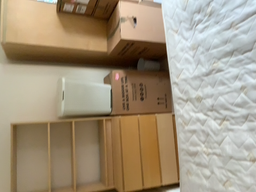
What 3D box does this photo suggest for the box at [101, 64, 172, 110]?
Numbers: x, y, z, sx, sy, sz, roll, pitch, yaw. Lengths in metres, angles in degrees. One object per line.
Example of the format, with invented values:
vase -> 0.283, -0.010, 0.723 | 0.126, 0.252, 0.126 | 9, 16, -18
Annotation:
box -> 0.100, -0.090, 2.760 | 0.510, 0.760, 0.510 | 168, 101, -66

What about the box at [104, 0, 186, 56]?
box -> 0.180, -0.800, 2.560 | 0.590, 0.800, 0.440 | 170, 99, -66

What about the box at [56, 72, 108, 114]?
box -> -0.570, -0.020, 2.580 | 0.370, 0.550, 0.440 | 160, 108, -65
